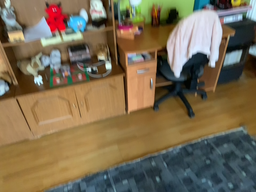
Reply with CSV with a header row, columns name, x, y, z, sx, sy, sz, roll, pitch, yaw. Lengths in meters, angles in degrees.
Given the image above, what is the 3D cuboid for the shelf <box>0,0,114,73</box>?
name,x,y,z,sx,sy,sz,roll,pitch,yaw
shelf,-0.610,-0.780,1.750,0.910,1.070,0.170,-14,39,-15

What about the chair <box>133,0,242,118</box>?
name,x,y,z,sx,sy,sz,roll,pitch,yaw
chair,0.480,-0.460,2.170,0.590,0.940,0.840,-13,38,-13
